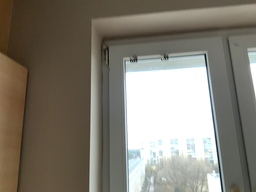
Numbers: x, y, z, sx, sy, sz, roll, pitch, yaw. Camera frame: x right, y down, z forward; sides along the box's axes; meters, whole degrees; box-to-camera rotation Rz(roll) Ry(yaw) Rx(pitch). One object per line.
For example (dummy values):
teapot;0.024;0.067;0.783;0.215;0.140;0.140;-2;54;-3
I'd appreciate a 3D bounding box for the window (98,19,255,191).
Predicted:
window;0.590;0.350;0.850;1.410;1.390;0.150;-3;-14;5
